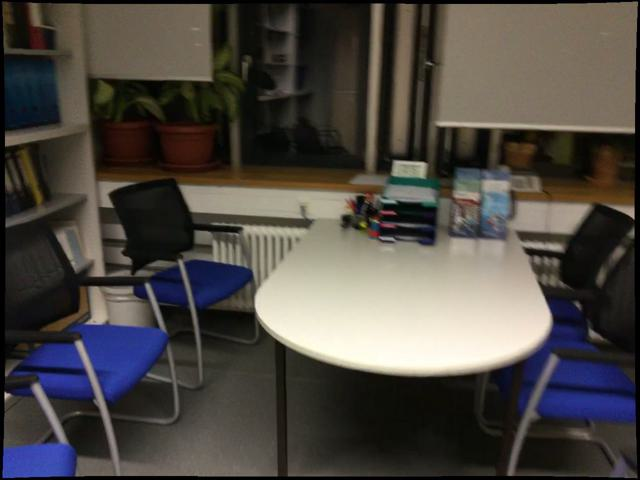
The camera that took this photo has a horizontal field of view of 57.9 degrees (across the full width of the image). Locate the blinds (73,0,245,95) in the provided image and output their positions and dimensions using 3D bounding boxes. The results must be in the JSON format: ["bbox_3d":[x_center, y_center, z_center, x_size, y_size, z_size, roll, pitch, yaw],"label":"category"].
[{"bbox_3d":[-0.829,-1.481,2.910,0.779,1.421,0.330,4,19,11],"label":"blinds"}]
